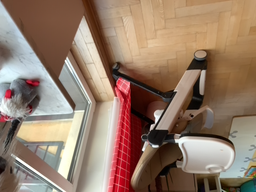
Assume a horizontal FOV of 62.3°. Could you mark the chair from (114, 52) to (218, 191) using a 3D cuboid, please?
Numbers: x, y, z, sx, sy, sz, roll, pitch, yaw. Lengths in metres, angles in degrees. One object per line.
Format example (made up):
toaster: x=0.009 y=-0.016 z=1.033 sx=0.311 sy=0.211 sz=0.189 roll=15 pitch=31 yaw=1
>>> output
chair: x=0.280 y=0.220 z=1.650 sx=0.550 sy=0.910 sz=0.610 roll=-4 pitch=140 yaw=11
